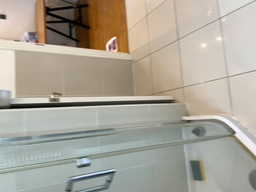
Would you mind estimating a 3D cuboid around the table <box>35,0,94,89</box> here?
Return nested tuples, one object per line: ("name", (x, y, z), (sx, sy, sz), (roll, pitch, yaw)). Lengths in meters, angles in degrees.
("table", (-1.120, -1.000, 3.640), (0.750, 0.740, 1.660), (-15, 78, 59))
